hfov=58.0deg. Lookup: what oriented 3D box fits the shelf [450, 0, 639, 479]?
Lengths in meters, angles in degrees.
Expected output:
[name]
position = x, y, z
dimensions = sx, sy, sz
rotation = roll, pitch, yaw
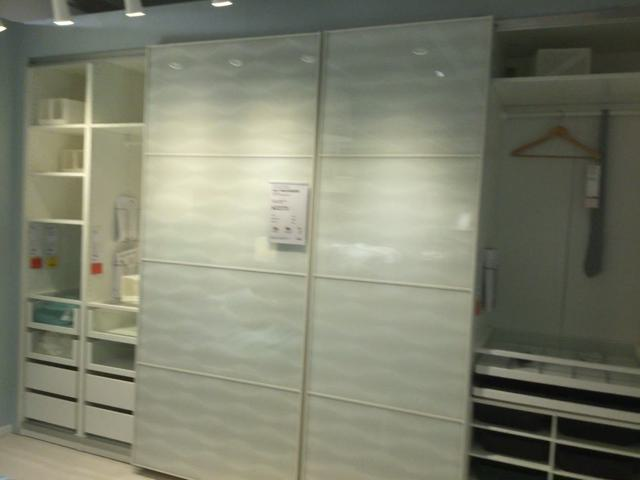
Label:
[shelf]
position = 1.080, 0.210, 2.460
dimensions = 0.830, 2.270, 0.700
rotation = 4, 3, 24
